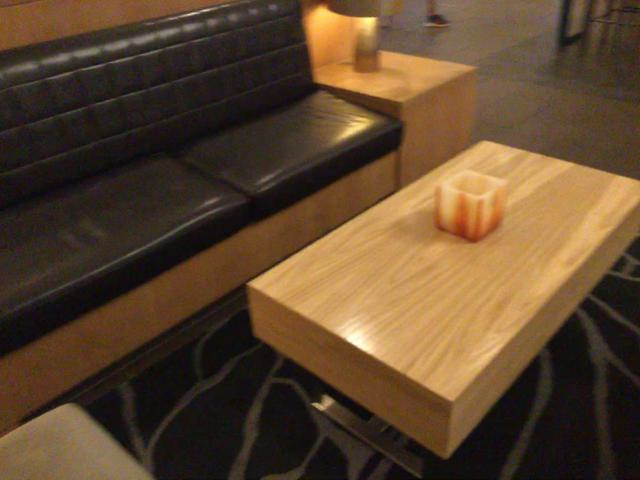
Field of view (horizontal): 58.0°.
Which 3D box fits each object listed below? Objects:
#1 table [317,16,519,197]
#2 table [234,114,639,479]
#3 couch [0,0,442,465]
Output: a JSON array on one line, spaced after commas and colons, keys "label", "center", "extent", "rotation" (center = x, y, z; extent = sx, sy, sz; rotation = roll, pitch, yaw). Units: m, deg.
[{"label": "table", "center": [0.520, -0.740, 3.020], "extent": [0.670, 0.660, 0.770], "rotation": [20, 39, 38]}, {"label": "table", "center": [0.510, 0.100, 1.830], "extent": [0.660, 0.530, 1.380], "rotation": [20, 38, 38]}, {"label": "couch", "center": [-0.410, -0.330, 2.200], "extent": [0.740, 0.970, 2.040], "rotation": [20, 39, 38]}]
